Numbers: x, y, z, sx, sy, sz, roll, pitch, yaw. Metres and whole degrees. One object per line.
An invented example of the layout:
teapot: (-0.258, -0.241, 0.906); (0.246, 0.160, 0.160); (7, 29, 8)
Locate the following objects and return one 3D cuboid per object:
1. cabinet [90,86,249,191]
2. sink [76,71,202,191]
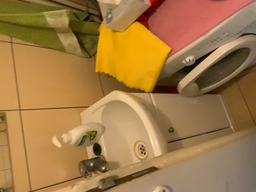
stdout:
cabinet: (0.250, 0.200, 1.000); (0.230, 0.780, 0.410); (-29, 70, 42)
sink: (0.010, 0.180, 0.700); (0.330, 0.140, 0.410); (-29, 70, 42)
